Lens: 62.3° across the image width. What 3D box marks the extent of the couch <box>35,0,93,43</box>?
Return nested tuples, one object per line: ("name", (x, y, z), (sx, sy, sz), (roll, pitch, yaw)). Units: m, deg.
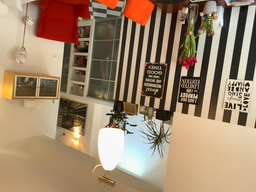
("couch", (-1.120, -1.530, 3.660), (0.680, 1.010, 0.950), (5, -175, -32))
